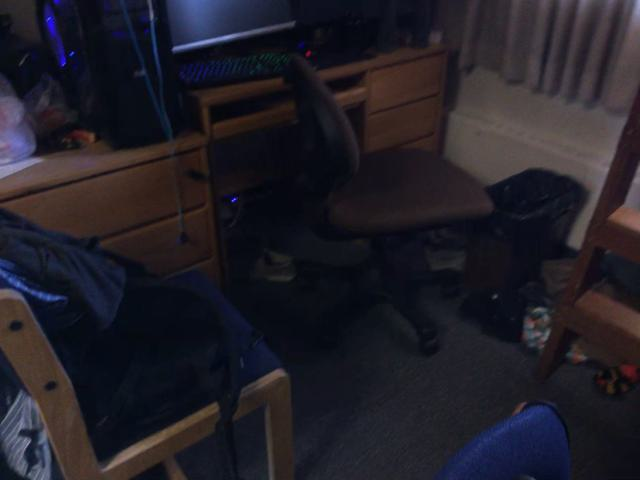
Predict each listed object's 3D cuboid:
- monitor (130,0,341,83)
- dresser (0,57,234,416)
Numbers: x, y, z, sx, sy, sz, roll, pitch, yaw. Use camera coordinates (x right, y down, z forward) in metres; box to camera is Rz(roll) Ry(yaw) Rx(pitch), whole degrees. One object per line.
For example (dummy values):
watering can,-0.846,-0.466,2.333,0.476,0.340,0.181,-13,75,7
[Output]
monitor,-0.260,-0.820,1.960,0.710,0.400,0.220,-24,40,-36
dresser,-0.710,-0.060,1.730,0.710,0.760,0.480,-24,40,-36
